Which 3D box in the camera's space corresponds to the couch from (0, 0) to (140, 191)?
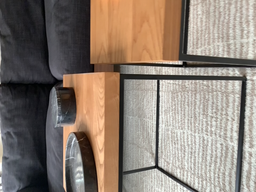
[{"bbox_3d":[-0.480,-0.110,1.410,0.900,0.750,2.030,9,99,62],"label":"couch"}]
